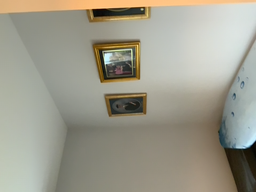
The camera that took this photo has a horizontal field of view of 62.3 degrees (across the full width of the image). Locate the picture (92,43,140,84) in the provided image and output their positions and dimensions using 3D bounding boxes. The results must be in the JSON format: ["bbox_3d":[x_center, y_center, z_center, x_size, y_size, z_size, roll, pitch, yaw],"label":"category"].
[{"bbox_3d":[-0.070,-0.220,1.530,0.370,0.310,0.030,86,-177,-53],"label":"picture"}]
